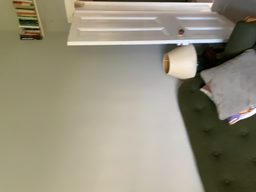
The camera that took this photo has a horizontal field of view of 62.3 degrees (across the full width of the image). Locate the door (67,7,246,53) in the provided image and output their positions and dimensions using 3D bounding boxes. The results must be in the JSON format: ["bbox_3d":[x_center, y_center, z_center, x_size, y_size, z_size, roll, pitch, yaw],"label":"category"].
[{"bbox_3d":[0.260,-0.740,2.300,0.770,1.700,0.170,-102,12,-50],"label":"door"}]

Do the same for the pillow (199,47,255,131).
[{"bbox_3d":[0.840,-0.060,1.650,0.320,0.390,0.450,97,-165,-54],"label":"pillow"}]

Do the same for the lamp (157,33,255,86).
[{"bbox_3d":[0.790,-0.380,2.210,0.390,0.860,0.370,99,166,-55],"label":"lamp"}]
